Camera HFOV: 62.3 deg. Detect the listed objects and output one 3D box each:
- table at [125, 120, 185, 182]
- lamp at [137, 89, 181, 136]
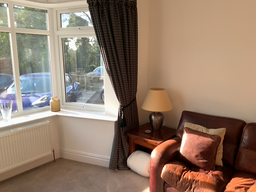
[{"bbox_3d":[0.390,0.740,3.070,0.600,0.540,0.630,9,14,40],"label":"table"},{"bbox_3d":[0.440,0.210,3.020,0.430,0.520,0.470,9,14,39],"label":"lamp"}]
